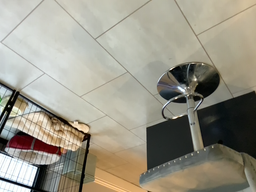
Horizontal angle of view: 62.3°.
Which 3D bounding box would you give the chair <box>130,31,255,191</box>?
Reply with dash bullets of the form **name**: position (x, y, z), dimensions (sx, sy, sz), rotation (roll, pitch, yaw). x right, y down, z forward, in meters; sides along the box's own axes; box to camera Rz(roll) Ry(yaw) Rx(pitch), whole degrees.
- **chair**: position (0.400, 0.300, 1.130), dimensions (0.540, 1.050, 0.570), rotation (25, 136, -25)
